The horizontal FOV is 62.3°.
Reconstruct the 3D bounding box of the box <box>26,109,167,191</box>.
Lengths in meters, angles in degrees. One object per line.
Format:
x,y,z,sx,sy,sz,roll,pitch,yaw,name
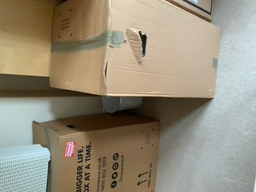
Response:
-0.200,0.410,1.460,0.510,0.760,0.510,14,101,45,box
